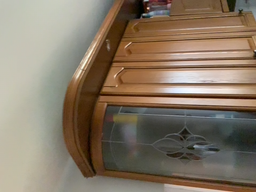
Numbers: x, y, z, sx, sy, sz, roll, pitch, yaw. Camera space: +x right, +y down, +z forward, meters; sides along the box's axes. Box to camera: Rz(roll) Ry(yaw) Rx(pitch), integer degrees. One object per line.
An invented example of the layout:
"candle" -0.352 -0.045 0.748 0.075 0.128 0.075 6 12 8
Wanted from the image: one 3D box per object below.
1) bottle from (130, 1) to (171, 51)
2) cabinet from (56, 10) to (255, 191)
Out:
"bottle" 0.220 -0.630 1.930 0.340 0.320 0.240 75 -158 -47
"cabinet" 0.310 -0.100 1.370 0.320 1.030 1.200 77 -159 -44
